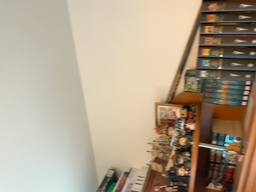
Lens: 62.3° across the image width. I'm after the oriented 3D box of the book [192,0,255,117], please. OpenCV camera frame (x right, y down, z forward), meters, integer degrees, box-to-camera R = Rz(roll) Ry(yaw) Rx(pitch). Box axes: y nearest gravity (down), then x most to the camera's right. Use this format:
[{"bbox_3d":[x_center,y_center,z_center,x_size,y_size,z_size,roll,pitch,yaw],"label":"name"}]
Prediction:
[{"bbox_3d":[0.420,-0.220,0.930,0.190,0.210,0.590,-53,-36,-56],"label":"book"}]
